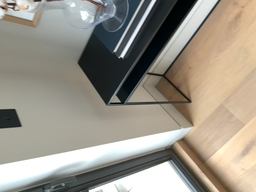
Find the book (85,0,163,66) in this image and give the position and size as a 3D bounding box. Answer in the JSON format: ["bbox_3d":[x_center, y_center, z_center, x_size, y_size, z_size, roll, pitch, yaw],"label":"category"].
[{"bbox_3d":[-0.030,-0.290,0.800,0.220,0.070,0.260,53,122,29],"label":"book"}]
